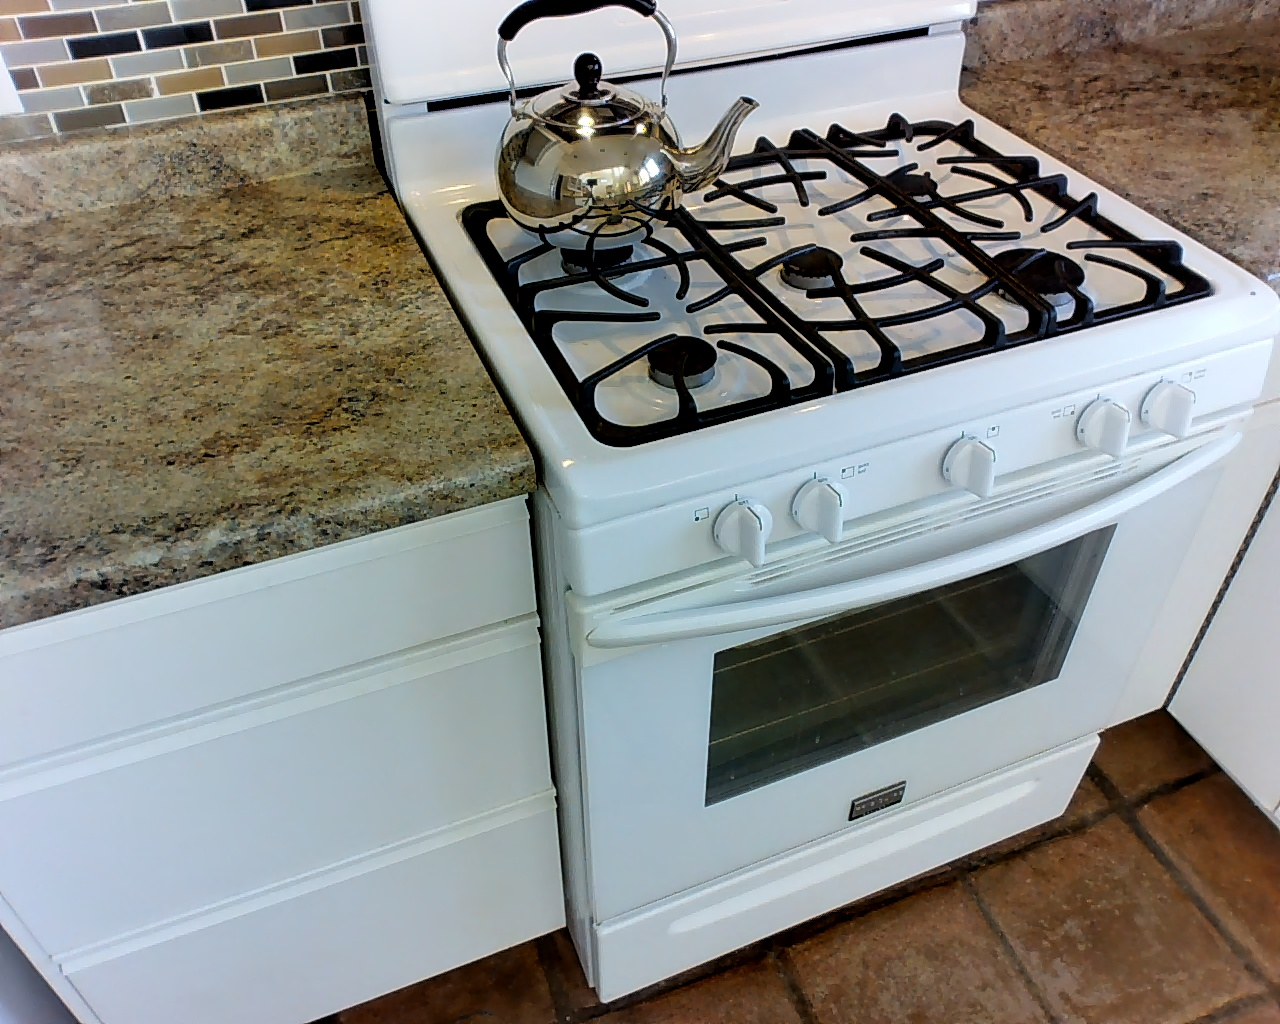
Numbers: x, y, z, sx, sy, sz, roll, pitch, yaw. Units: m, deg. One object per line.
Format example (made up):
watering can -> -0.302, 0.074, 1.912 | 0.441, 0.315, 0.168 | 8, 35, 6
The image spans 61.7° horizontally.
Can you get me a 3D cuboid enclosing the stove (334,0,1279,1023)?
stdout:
stove -> 0.190, -0.060, 1.360 | 0.830, 1.190, 0.770 | -15, 44, -16
